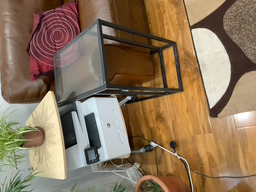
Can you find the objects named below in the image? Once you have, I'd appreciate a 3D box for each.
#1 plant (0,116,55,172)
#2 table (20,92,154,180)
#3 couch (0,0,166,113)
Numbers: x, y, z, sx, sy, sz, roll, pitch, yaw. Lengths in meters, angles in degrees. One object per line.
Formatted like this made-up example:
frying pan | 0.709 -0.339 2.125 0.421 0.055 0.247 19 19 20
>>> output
plant | -0.640 0.280 1.240 0.220 0.310 0.260 -24 74 44
table | -0.320 0.290 1.620 0.610 0.730 0.470 -24 73 44
couch | -0.520 -0.910 1.720 0.960 0.860 1.900 -20 76 45
